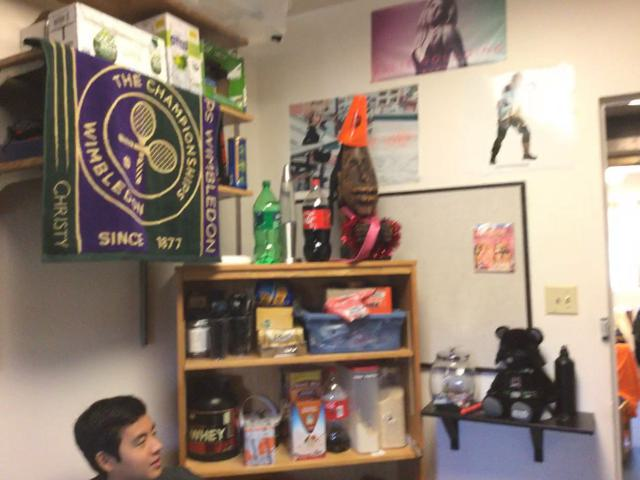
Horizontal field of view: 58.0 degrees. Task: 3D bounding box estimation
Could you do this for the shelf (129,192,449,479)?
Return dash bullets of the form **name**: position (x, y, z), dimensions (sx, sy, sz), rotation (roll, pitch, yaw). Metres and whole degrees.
- **shelf**: position (-0.090, 0.760, 2.210), dimensions (0.880, 1.680, 0.850), rotation (-5, -8, 33)
